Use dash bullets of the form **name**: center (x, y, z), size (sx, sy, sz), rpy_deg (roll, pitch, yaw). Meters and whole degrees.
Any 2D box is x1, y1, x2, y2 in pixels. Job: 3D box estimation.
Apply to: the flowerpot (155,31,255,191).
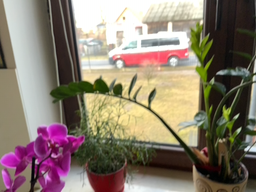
- **flowerpot**: center (0.400, 0.080, 0.690), size (0.570, 0.550, 0.320), rpy_deg (2, 18, 15)
